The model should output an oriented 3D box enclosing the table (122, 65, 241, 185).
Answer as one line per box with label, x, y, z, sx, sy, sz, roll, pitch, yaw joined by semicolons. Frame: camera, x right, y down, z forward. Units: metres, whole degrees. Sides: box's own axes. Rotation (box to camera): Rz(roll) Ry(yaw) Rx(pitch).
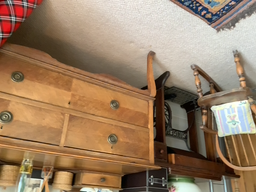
table;0.430;0.290;1.790;0.820;0.770;0.410;17;150;-26
